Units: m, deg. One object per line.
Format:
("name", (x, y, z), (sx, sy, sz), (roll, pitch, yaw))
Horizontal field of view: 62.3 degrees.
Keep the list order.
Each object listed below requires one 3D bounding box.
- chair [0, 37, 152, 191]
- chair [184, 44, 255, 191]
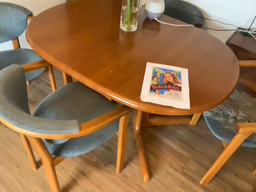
("chair", (-0.320, 0.190, 1.220), (0.560, 0.730, 0.570), (32, 48, 22))
("chair", (0.810, 0.170, 1.430), (0.570, 0.740, 0.600), (8, 43, -2))
